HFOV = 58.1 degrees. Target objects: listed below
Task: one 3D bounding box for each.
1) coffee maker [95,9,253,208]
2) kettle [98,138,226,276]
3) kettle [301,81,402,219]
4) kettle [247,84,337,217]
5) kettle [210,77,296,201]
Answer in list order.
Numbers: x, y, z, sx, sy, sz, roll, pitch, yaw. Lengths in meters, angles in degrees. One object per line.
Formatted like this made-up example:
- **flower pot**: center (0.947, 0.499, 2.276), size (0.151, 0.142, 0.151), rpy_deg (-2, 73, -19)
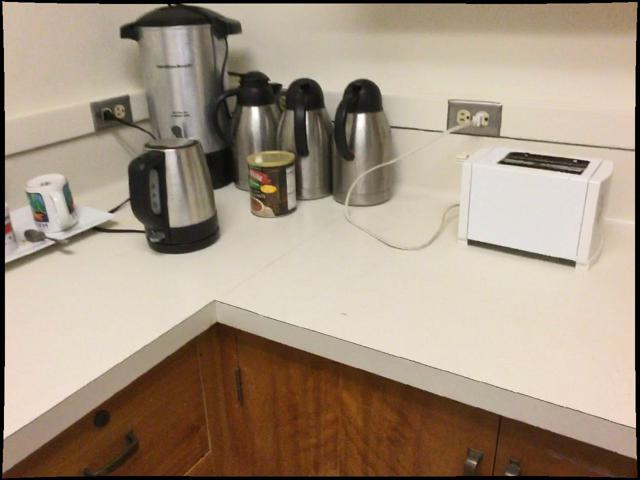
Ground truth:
- **coffee maker**: center (-0.339, -0.321, 1.390), size (0.240, 0.421, 0.200), rpy_deg (10, 26, 30)
- **kettle**: center (-0.289, -0.070, 1.090), size (0.100, 0.200, 0.190), rpy_deg (10, 26, 30)
- **kettle**: center (0.080, -0.211, 1.300), size (0.140, 0.261, 0.200), rpy_deg (10, 26, 30)
- **kettle**: center (-0.060, -0.211, 1.330), size (0.140, 0.271, 0.130), rpy_deg (10, 26, 30)
- **kettle**: center (-0.160, -0.251, 1.410), size (0.130, 0.271, 0.130), rpy_deg (10, 26, 30)
